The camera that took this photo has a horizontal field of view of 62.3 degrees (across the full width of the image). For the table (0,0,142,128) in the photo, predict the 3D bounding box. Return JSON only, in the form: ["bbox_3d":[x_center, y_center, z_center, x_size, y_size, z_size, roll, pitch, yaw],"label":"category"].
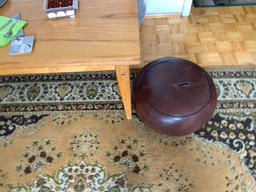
[{"bbox_3d":[-0.610,-0.200,1.170,1.320,0.560,0.550,-2,56,0],"label":"table"}]
